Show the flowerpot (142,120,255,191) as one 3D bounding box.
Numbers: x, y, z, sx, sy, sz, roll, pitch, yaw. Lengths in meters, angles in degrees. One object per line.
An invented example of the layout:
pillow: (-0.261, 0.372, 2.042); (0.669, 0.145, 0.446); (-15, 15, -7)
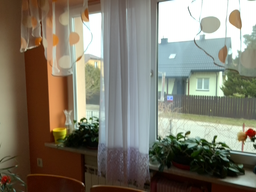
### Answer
flowerpot: (0.620, 0.440, 1.800); (0.870, 0.310, 0.490); (3, 7, 29)

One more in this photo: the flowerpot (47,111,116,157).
flowerpot: (-0.470, 0.360, 2.180); (0.550, 0.310, 0.410); (3, 7, 29)
